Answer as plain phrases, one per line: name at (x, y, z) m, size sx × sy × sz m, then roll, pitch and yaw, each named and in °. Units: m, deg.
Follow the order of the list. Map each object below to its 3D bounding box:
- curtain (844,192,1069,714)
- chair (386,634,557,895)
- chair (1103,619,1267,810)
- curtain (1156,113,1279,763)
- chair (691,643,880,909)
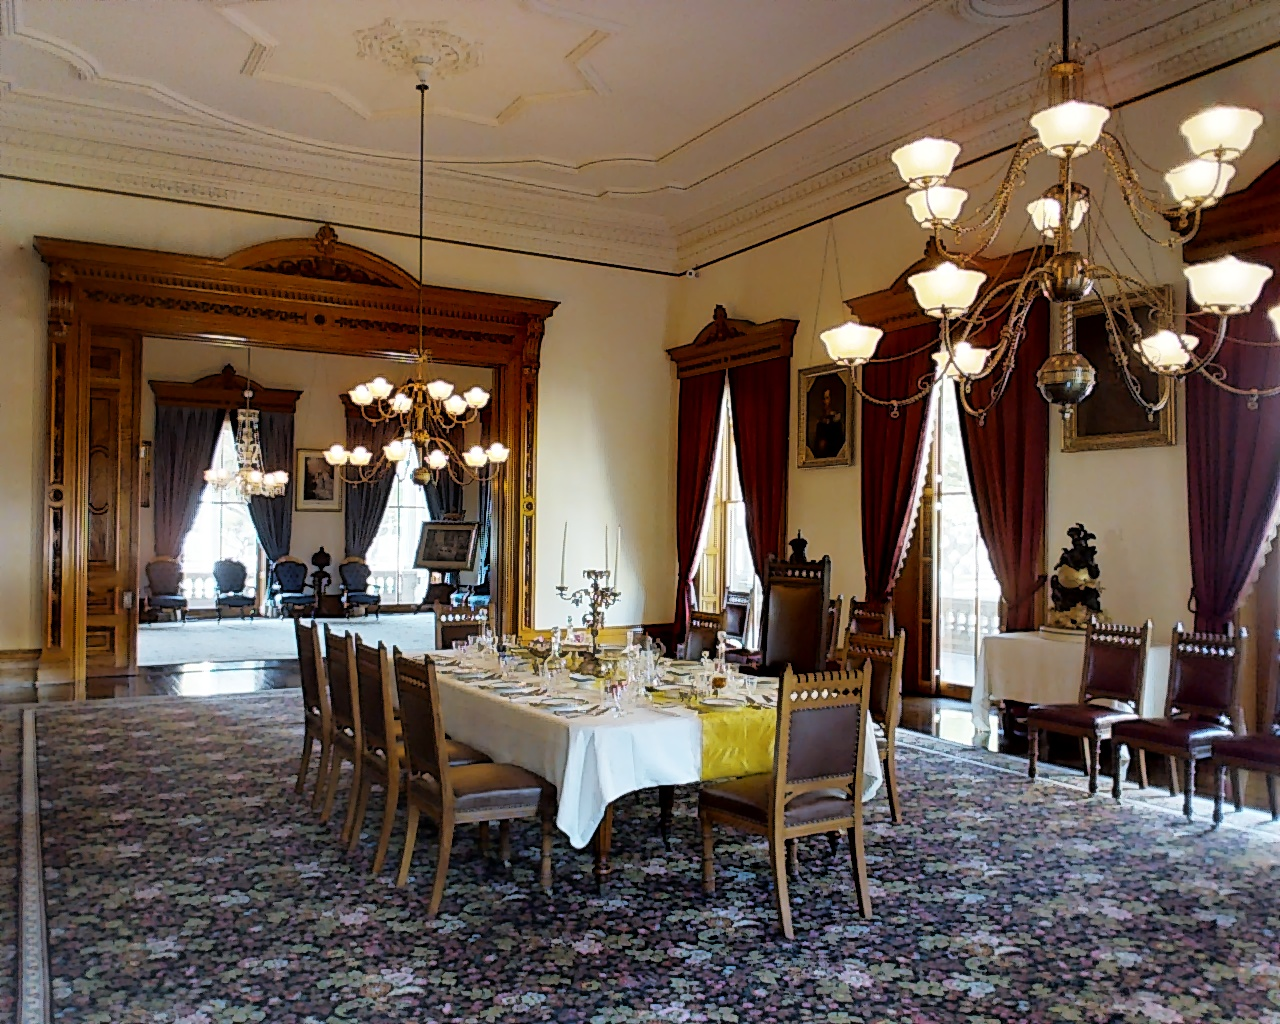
curtain at (2.880, -0.480, 10.140) m, size 0.310 × 4.361 × 2.510 m, roll 1°, pitch -1°, yaw -30°
chair at (-0.740, 1.050, 4.680) m, size 0.560 × 0.970 × 0.570 m, roll 1°, pitch -1°, yaw -30°
chair at (3.170, 1.140, 6.270) m, size 0.640 × 0.970 × 0.600 m, roll 1°, pitch -1°, yaw -30°
curtain at (4.619, -0.510, 6.980) m, size 0.350 × 4.361 × 2.520 m, roll 1°, pitch -1°, yaw -30°
chair at (0.610, 1.070, 4.560) m, size 0.570 × 0.950 × 0.560 m, roll 1°, pitch -1°, yaw -30°
